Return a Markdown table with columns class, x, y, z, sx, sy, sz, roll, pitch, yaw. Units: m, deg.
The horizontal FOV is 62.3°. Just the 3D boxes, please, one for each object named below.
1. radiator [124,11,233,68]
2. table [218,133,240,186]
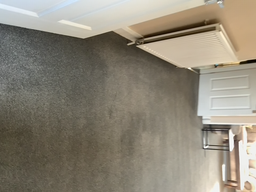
| class | x | y | z | sx | sy | sz | roll | pitch | yaw |
| --- | --- | --- | --- | --- | --- | --- | --- | --- | --- |
| radiator | 0.610 | -0.490 | 2.200 | 1.260 | 0.740 | 0.120 | 4 | 83 | -58 |
| table | 2.730 | 1.660 | 5.700 | 0.610 | 0.410 | 1.230 | 6 | 82 | -58 |
